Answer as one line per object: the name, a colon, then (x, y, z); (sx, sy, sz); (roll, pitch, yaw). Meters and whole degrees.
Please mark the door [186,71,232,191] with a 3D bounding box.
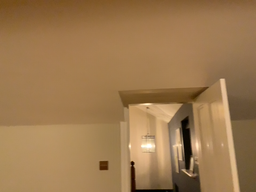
door: (0.720, 0.910, 1.880); (0.040, 2.050, 0.950); (-1, -13, 3)
